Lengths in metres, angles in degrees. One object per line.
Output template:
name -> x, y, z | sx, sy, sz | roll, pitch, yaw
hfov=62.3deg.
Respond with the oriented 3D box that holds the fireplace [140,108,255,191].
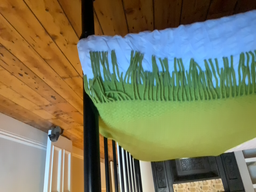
fireplace -> 0.840, 0.880, 2.720 | 1.200, 1.240, 0.390 | -8, 157, 5
